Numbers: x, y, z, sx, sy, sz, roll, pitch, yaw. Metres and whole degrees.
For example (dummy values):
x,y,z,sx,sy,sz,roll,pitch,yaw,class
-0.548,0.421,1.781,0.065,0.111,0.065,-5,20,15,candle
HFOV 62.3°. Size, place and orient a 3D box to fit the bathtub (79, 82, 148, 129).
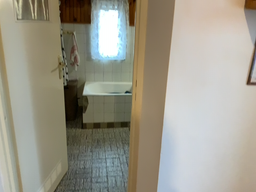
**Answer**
x,y,z,sx,sy,sz,roll,pitch,yaw,class
-0.250,0.120,3.380,0.980,0.520,0.670,0,18,-9,bathtub
